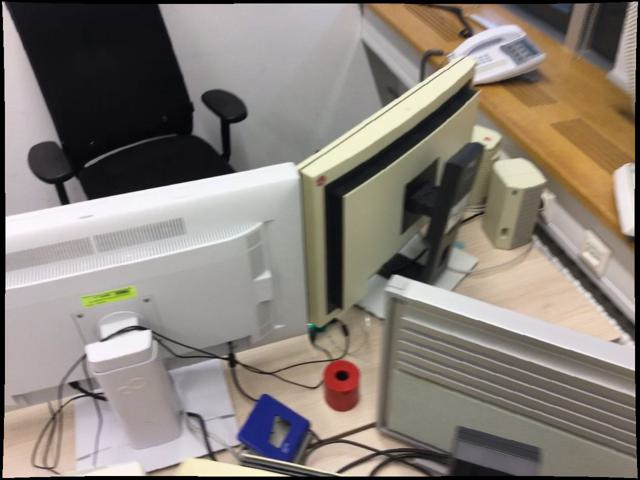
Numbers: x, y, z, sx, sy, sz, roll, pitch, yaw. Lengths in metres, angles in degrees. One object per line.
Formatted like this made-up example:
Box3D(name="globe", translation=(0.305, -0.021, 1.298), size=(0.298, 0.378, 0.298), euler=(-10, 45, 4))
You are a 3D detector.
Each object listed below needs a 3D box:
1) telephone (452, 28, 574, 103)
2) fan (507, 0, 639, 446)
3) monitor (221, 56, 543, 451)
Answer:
Box3D(name="telephone", translation=(0.539, -0.501, 1.640), size=(0.240, 0.080, 0.220), euler=(-13, 45, -11))
Box3D(name="fan", translation=(0.659, -0.050, 1.110), size=(0.270, 0.950, 0.440), euler=(-5, 44, -3))
Box3D(name="monitor", translation=(0.150, 0.000, 1.160), size=(0.220, 0.450, 0.670), euler=(28, 52, 27))
